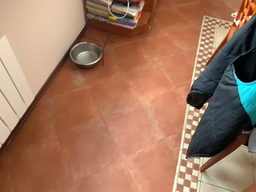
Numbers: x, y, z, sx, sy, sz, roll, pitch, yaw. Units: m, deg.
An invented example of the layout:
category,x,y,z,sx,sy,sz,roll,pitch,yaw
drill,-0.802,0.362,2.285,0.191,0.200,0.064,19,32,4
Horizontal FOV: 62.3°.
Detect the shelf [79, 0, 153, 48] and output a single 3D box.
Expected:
category,x,y,z,sx,sy,sz,roll,pitch,yaw
shelf,-0.080,-0.920,1.710,0.540,0.890,0.370,17,55,8
